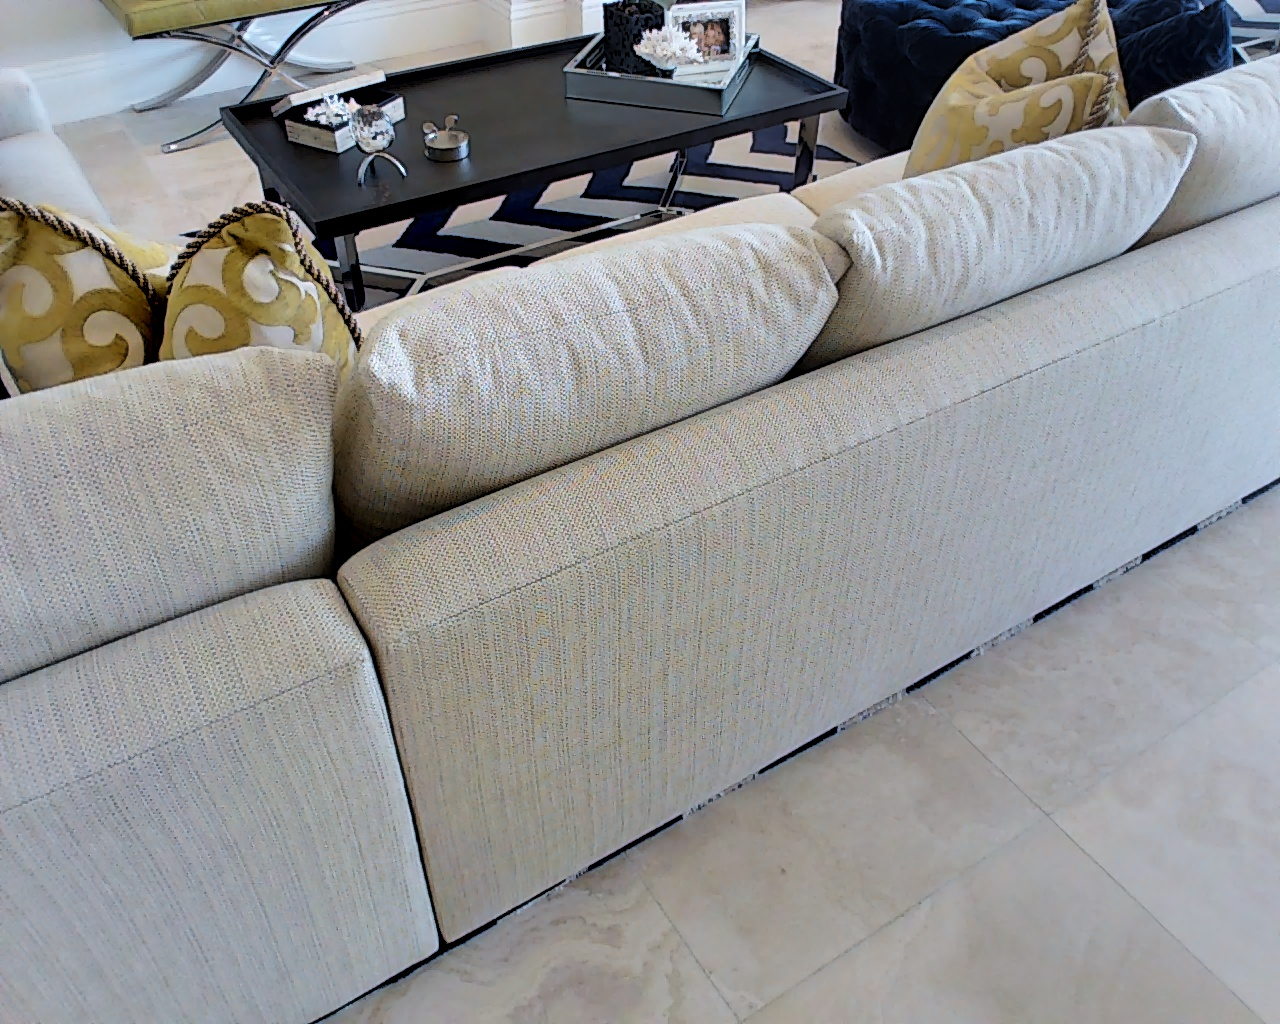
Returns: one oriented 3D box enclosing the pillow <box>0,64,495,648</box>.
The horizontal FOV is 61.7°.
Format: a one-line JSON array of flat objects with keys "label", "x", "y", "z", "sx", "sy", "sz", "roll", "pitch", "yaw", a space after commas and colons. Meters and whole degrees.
[{"label": "pillow", "x": -0.590, "y": -0.210, "z": 1.470, "sx": 0.560, "sy": 0.600, "sz": 0.360, "roll": -12, "pitch": 17, "yaw": 10}]
